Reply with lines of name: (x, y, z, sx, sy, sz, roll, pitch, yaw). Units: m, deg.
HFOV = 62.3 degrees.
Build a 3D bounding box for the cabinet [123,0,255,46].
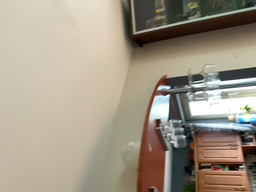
cabinet: (0.980, -0.960, 2.060, 0.350, 2.050, 0.500, -5, -91, -69)
